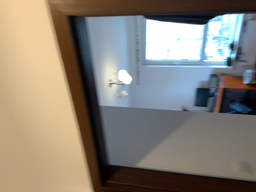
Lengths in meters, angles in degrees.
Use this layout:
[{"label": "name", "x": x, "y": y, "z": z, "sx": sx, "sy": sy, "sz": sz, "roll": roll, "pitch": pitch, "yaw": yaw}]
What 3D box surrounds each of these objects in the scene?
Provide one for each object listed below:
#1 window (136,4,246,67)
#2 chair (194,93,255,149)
[{"label": "window", "x": 1.300, "y": -1.330, "z": 4.800, "sx": 0.310, "sy": 2.150, "sz": 1.280, "roll": -72, "pitch": -19, "yaw": -52}, {"label": "chair", "x": 1.980, "y": 0.470, "z": 4.340, "sx": 0.860, "sy": 1.080, "sz": 0.710, "roll": -67, "pitch": -23, "yaw": -59}]
